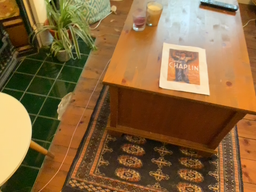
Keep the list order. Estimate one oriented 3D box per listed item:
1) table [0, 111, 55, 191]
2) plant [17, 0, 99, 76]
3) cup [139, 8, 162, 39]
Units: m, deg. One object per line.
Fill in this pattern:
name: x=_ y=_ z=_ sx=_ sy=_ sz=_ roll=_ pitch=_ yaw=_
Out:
table: x=-0.640 y=0.340 z=0.960 sx=0.410 sy=0.470 sz=0.370 roll=9 pitch=52 yaw=1
plant: x=-0.470 y=-0.510 z=1.600 sx=0.360 sy=0.440 sz=0.480 roll=11 pitch=53 yaw=4
cup: x=0.120 y=-0.390 z=1.130 sx=0.090 sy=0.080 sz=0.140 roll=12 pitch=53 yaw=4
